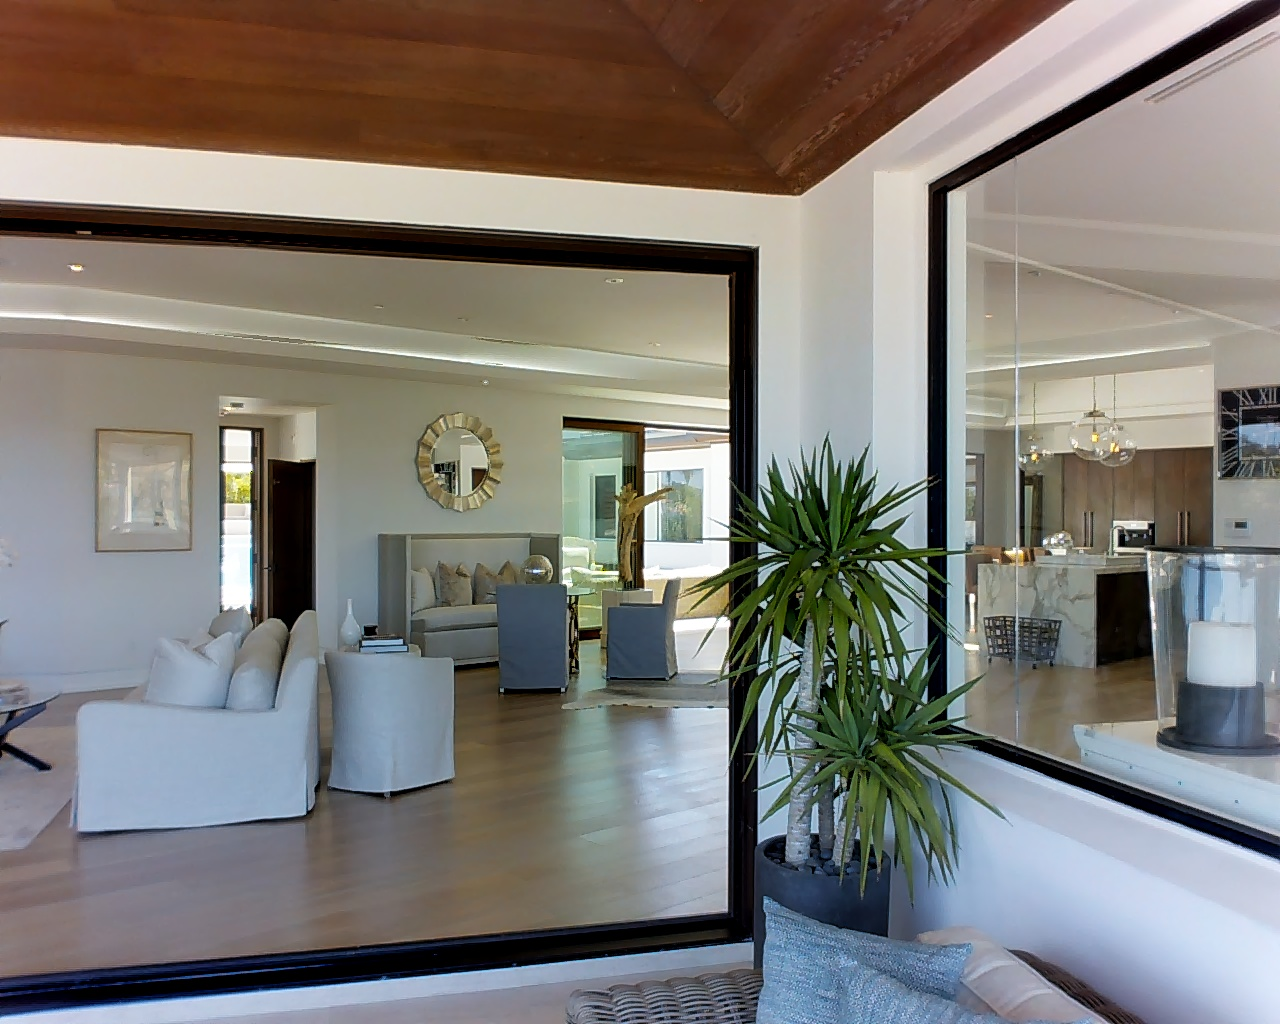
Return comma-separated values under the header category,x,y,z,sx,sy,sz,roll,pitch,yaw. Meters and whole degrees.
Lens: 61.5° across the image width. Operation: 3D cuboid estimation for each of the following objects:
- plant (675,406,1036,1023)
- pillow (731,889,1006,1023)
category,x,y,z,sx,sy,sz,roll,pitch,yaw
plant,0.530,0.650,2.870,0.700,1.780,0.730,0,0,-14
pillow,0.400,0.940,1.930,0.430,0.420,0.190,-2,-24,32
